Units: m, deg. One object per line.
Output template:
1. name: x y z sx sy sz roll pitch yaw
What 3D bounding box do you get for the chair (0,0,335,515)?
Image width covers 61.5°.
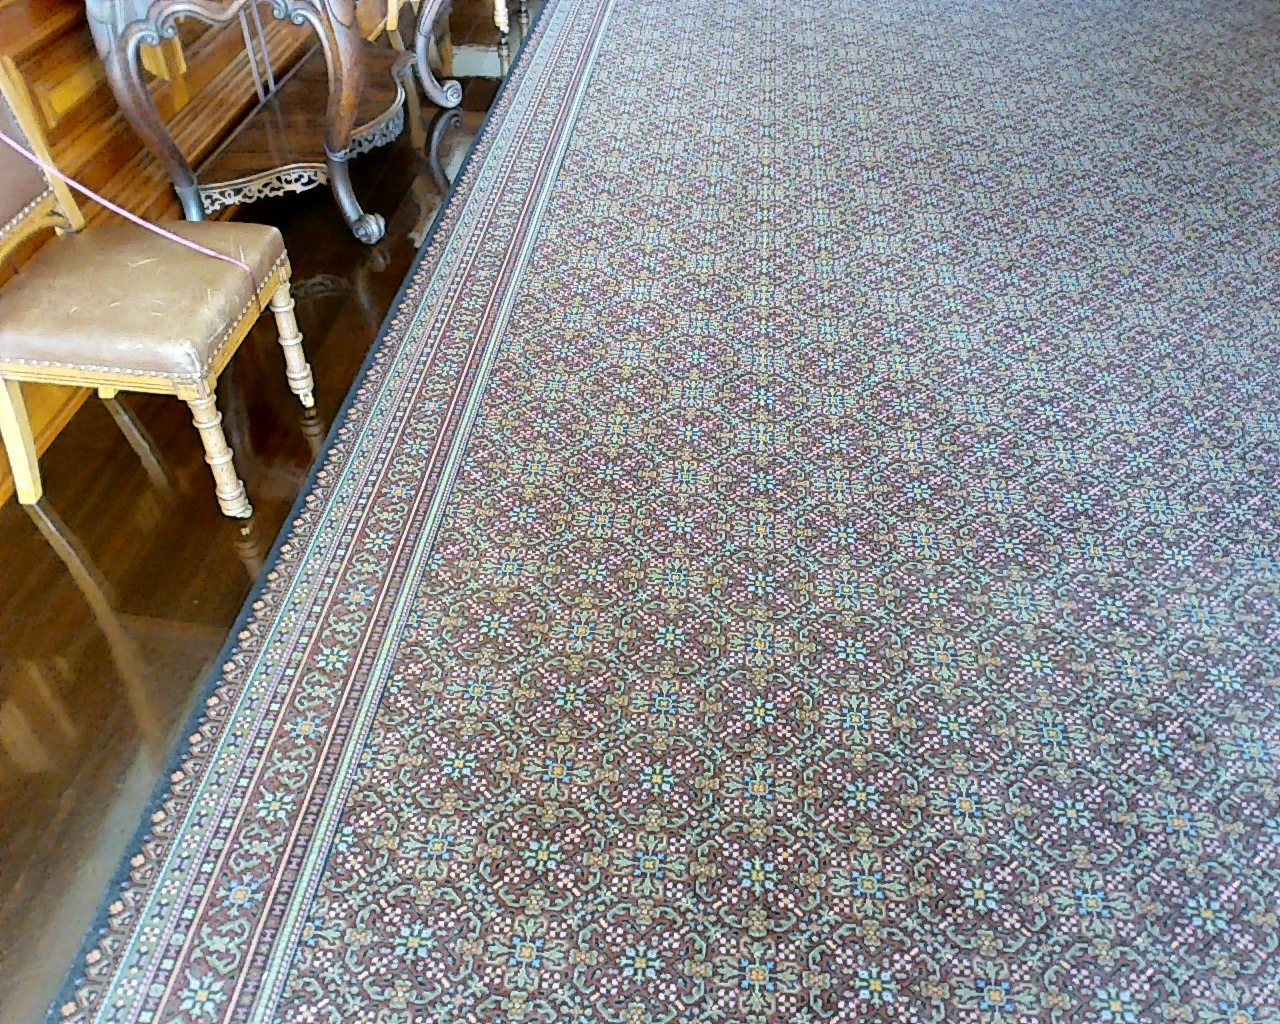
1. chair: -1.110 -0.570 2.230 0.600 0.990 0.560 5 43 5

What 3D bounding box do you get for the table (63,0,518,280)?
1. table: -0.950 -1.720 3.280 0.720 1.260 1.690 5 43 5
